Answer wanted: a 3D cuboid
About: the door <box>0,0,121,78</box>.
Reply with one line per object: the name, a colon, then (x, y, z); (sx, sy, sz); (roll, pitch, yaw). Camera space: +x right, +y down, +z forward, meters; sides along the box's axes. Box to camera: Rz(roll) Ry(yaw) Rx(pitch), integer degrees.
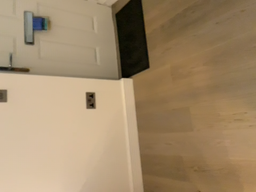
door: (-0.940, -0.590, 1.770); (0.020, 2.030, 0.780); (-19, 74, 52)
